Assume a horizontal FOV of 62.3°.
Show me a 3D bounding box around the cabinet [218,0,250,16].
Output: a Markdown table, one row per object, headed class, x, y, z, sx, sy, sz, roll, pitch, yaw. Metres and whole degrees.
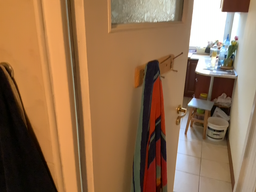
| class | x | y | z | sx | sy | sz | roll | pitch | yaw |
| --- | --- | --- | --- | --- | --- | --- | --- | --- | --- |
| cabinet | 1.550 | -1.410 | 3.150 | 0.310 | 0.390 | 1.260 | 8 | 21 | 19 |
